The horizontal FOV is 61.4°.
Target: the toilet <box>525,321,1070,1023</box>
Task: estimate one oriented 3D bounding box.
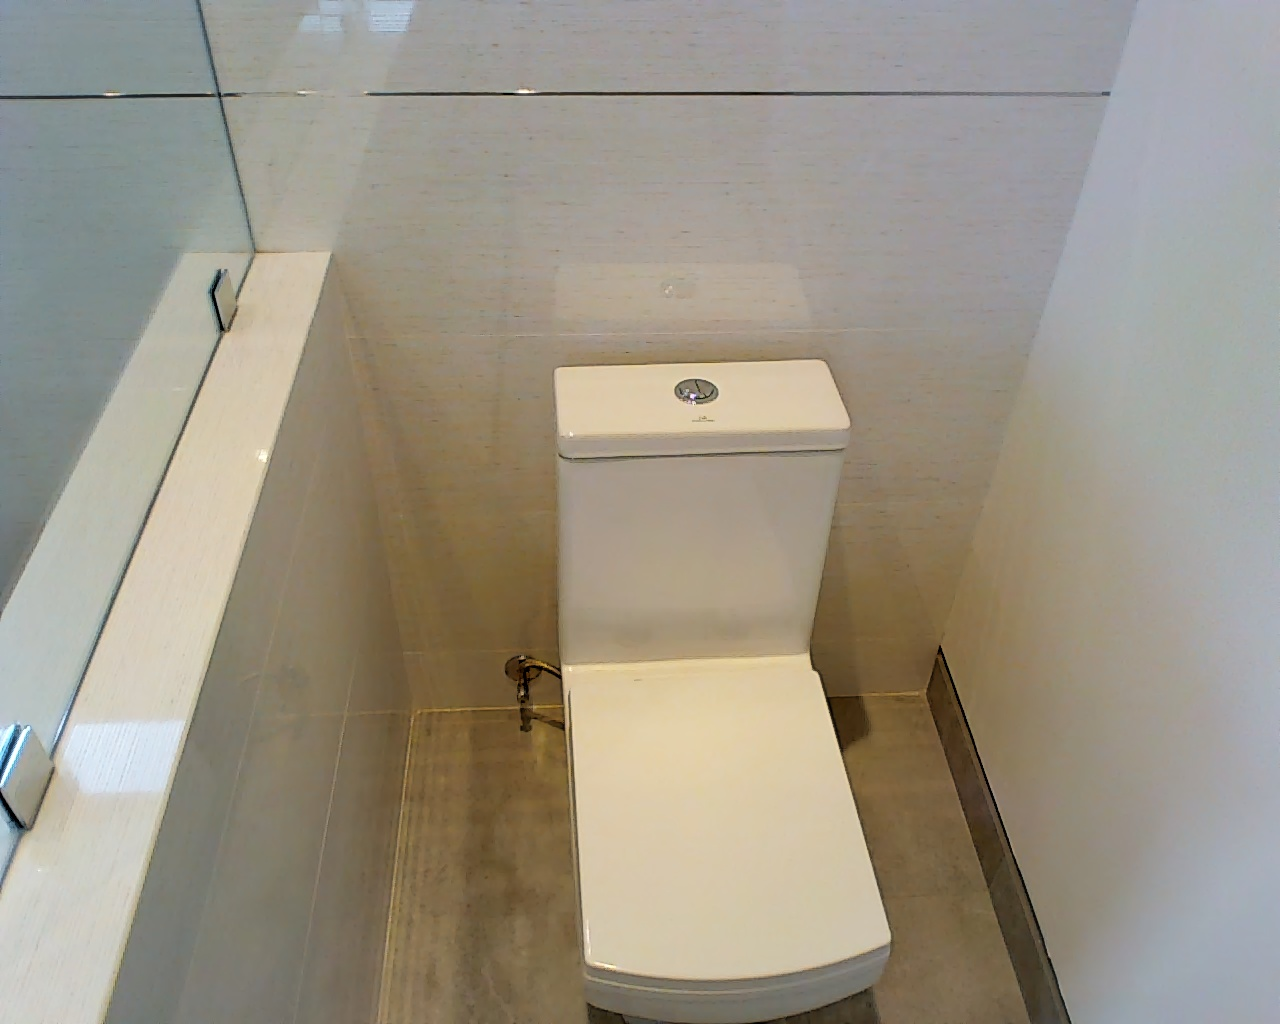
[{"bbox_3d":[0.110,0.300,1.470,0.470,0.850,0.720,-1,41,-3],"label":"toilet"}]
